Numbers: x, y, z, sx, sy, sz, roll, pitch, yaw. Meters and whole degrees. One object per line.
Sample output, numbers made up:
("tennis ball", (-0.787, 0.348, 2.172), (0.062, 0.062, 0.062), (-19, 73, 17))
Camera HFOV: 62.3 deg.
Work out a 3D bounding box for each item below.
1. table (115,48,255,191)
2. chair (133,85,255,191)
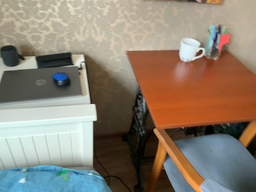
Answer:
("table", (0.340, 0.190, 1.310), (0.690, 0.760, 0.610), (-3, 40, -14))
("chair", (0.440, 0.440, 1.030), (0.590, 0.730, 0.590), (-7, 41, -18))
